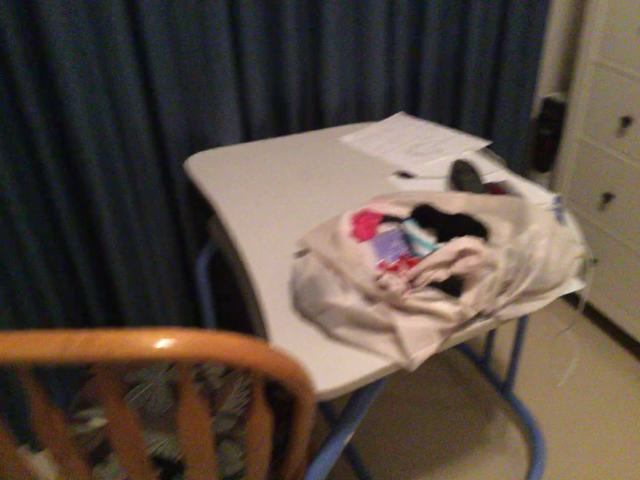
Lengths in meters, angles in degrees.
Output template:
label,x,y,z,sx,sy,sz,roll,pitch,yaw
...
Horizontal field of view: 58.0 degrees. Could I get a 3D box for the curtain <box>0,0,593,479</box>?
label,x,y,z,sx,sy,sz,roll,pitch,yaw
curtain,-0.360,-0.460,1.300,2.110,2.010,0.350,-14,30,-16
